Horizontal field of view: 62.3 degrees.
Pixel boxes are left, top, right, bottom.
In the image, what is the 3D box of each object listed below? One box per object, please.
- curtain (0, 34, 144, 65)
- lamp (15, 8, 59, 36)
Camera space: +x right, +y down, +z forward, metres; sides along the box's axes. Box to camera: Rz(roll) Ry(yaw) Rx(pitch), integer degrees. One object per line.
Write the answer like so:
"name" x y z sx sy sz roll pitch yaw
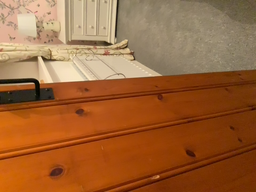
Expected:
"curtain" -0.890 -0.400 1.760 0.590 2.030 0.100 43 133 51
"lamp" -1.020 -0.830 2.380 0.310 0.410 0.250 41 132 52
